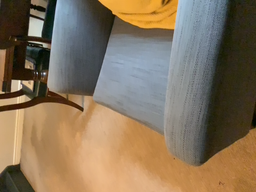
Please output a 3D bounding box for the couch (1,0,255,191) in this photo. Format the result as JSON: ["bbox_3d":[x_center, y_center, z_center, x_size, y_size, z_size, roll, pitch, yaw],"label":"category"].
[{"bbox_3d":[0.110,-0.340,0.790,0.820,0.820,0.770,21,105,46],"label":"couch"}]

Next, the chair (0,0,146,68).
[{"bbox_3d":[-0.400,-0.530,1.340,0.520,0.820,0.510,29,111,44],"label":"chair"}]

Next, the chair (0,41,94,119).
[{"bbox_3d":[-0.800,-0.140,1.770,0.510,0.820,0.520,15,100,46],"label":"chair"}]
